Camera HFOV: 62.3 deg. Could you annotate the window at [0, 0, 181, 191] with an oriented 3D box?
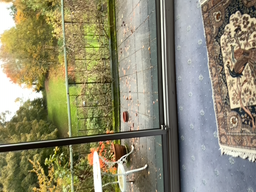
[{"bbox_3d":[-0.530,0.180,1.880,0.220,2.060,2.580,-172,79,-73],"label":"window"}]
